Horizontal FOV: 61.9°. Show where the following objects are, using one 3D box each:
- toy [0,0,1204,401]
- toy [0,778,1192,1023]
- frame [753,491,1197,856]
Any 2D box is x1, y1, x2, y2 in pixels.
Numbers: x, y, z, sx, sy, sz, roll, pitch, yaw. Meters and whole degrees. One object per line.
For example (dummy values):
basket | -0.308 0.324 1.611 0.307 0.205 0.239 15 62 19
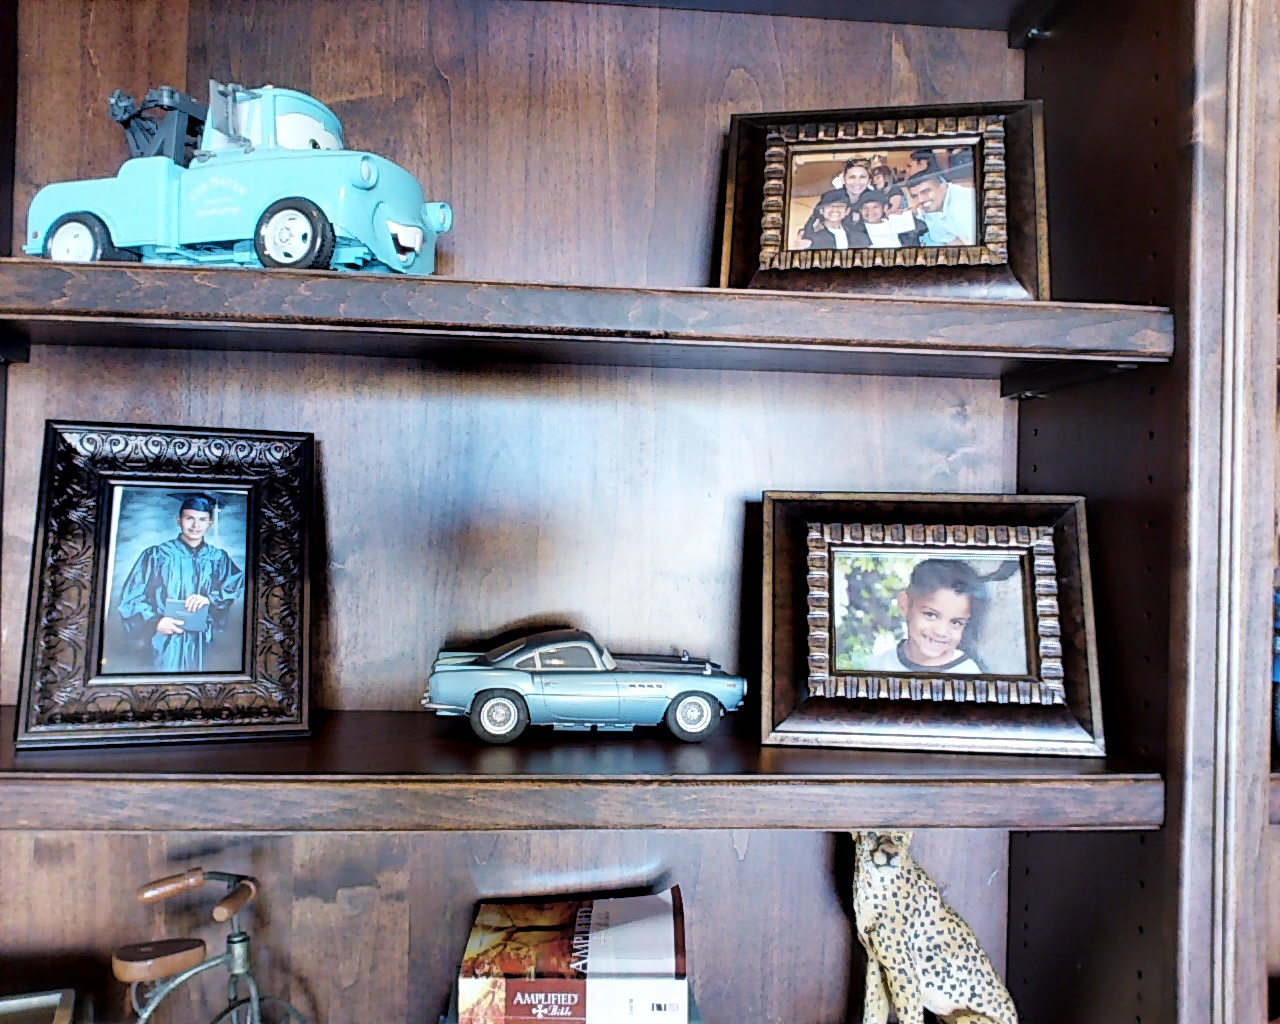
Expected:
toy | -0.090 -0.260 0.790 0.890 0.290 0.280 2 0 -6
toy | -0.110 0.360 0.780 0.890 0.250 0.280 2 0 -4
frame | 0.240 0.110 0.840 0.270 0.240 0.230 2 0 0
